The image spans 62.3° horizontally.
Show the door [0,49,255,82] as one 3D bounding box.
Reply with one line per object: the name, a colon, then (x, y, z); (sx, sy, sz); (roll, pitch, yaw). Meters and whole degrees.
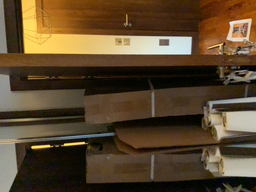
door: (0.290, -0.160, 1.290); (0.910, 2.020, 0.040); (180, 88, -77)
